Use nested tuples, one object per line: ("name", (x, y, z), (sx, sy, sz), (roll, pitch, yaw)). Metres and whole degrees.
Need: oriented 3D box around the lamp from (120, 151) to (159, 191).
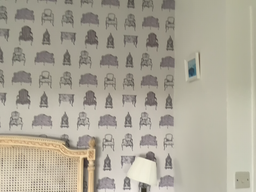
("lamp", (0.080, 0.700, 1.640), (0.250, 0.480, 0.250), (1, -1, -9))
